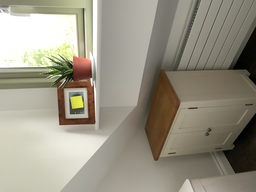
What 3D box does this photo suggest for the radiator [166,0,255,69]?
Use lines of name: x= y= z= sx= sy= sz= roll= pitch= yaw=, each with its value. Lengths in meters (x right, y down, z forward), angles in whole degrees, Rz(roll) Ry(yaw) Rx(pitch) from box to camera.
radiator: x=0.680 y=-0.590 z=1.400 sx=0.170 sy=0.640 sz=0.870 roll=-105 pitch=18 yaw=-45

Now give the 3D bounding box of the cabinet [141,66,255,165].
cabinet: x=0.570 y=0.180 z=1.770 sx=0.790 sy=0.750 sz=0.350 roll=100 pitch=162 yaw=-44
